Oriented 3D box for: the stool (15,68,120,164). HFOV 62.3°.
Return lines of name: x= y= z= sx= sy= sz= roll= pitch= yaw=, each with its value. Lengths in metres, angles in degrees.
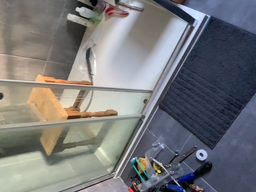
stool: x=-0.460 y=0.120 z=1.570 sx=0.540 sy=0.460 sz=0.380 roll=42 pitch=114 yaw=33
